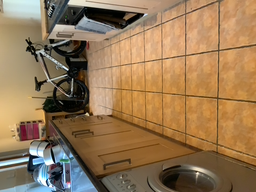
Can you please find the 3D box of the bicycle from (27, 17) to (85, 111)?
[{"bbox_3d":[-1.450,-0.620,4.330,0.550,0.980,1.700,14,106,62],"label":"bicycle"}]
